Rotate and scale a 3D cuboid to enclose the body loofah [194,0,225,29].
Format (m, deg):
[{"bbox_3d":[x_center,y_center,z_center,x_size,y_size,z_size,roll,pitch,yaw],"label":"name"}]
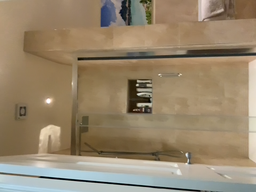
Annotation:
[{"bbox_3d":[0.930,-1.070,2.460,0.420,0.250,0.440,3,-93,-80],"label":"body loofah"}]
